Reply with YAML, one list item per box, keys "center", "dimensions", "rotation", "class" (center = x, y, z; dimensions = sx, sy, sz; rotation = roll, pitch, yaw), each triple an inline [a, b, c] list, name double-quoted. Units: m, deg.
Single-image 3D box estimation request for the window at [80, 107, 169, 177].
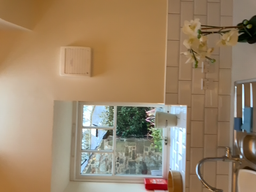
- center: [-0.030, 0.480, 2.240]
  dimensions: [0.050, 0.910, 0.700]
  rotation: [116, 156, -87]
  class: "window"
